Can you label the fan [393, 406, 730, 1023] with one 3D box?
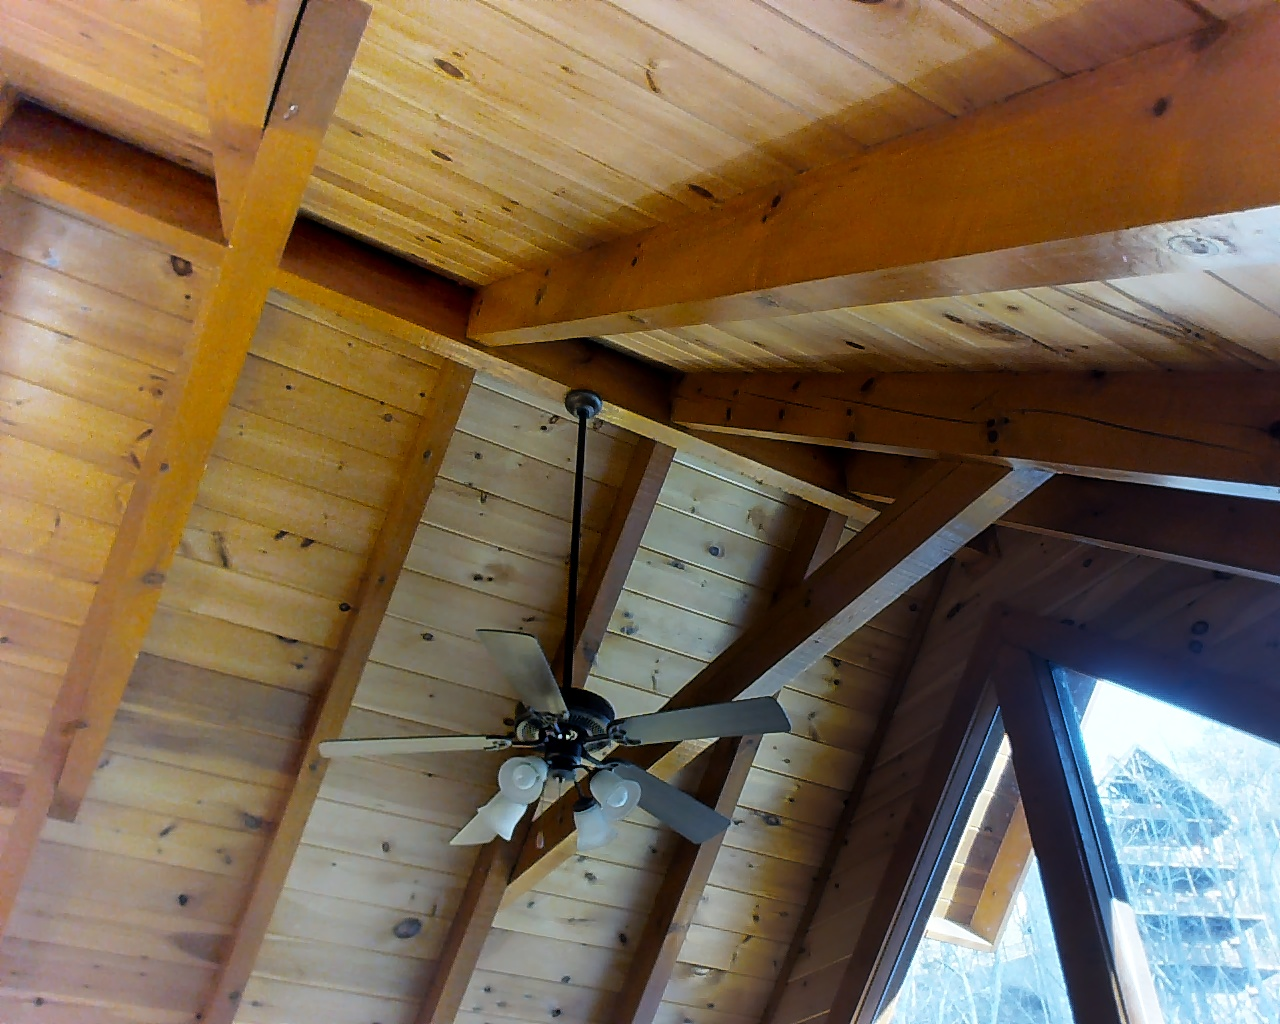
[{"bbox_3d":[-0.250,0.600,3.020,0.300,1.270,1.270,19,-44,-22],"label":"fan"}]
